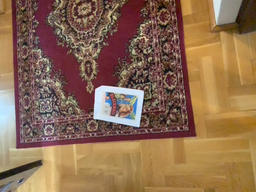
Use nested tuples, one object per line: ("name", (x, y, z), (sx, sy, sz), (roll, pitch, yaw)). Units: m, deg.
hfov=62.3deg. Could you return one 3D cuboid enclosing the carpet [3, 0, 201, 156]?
("carpet", (-0.280, -0.390, 1.320), (1.200, 0.040, 1.430), (-9, 84, 18))
